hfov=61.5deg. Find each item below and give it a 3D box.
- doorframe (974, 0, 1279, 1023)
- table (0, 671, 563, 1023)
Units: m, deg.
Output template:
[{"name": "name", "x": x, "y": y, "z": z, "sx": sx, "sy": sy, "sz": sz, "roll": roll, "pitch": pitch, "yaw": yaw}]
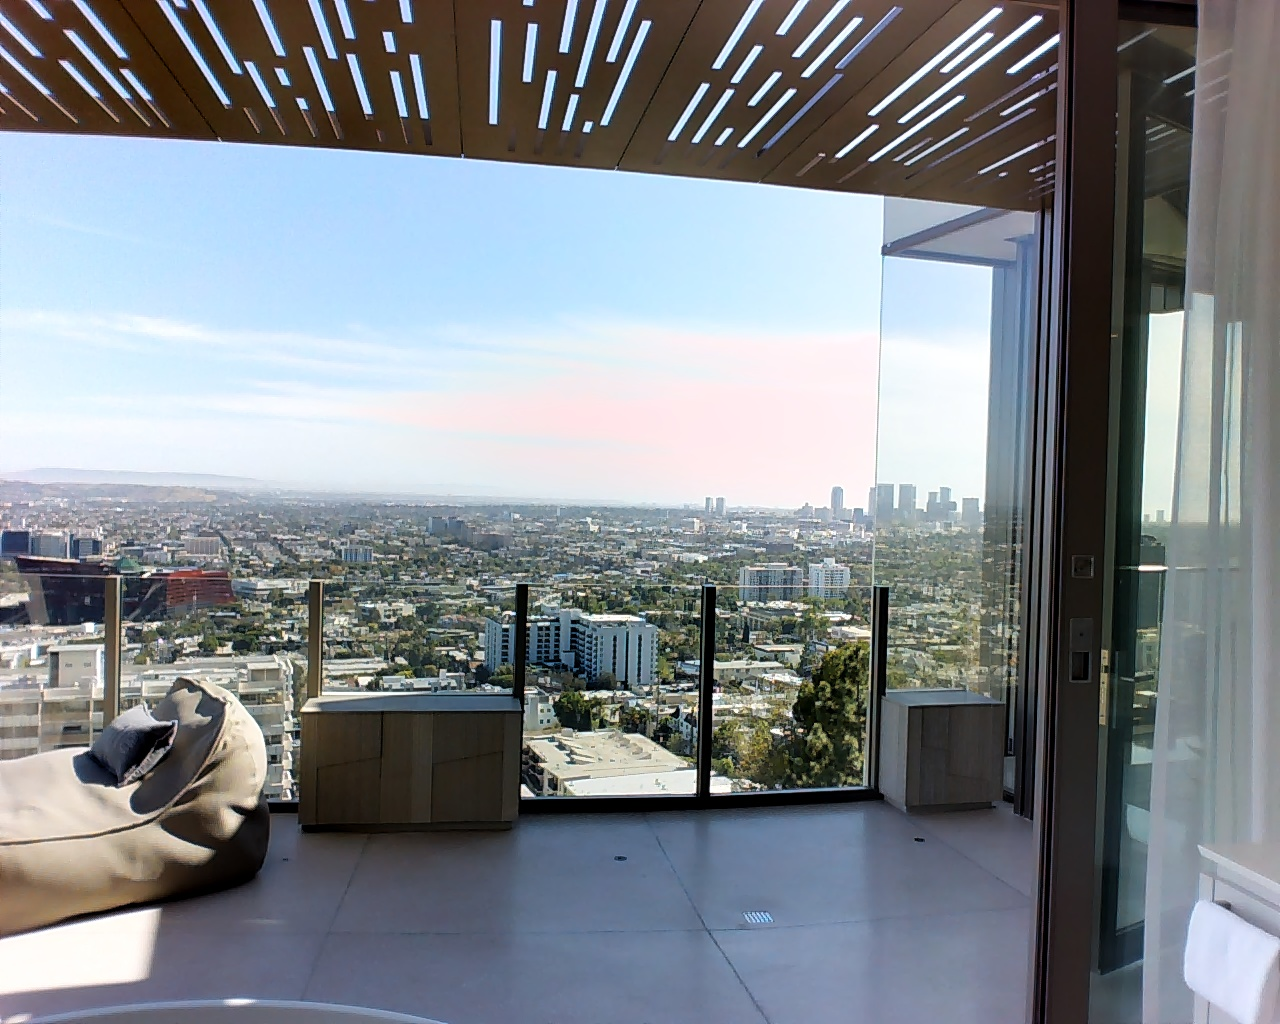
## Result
[{"name": "doorframe", "x": 1.850, "y": 0.100, "z": 2.950, "sx": 1.760, "sy": 2.920, "sz": 0.330, "roll": 1, "pitch": 1, "yaw": -11}, {"name": "table", "x": -1.060, "y": 1.150, "z": 3.670, "sx": 1.120, "sy": 0.900, "sz": 1.600, "roll": 2, "pitch": 1, "yaw": 14}]
